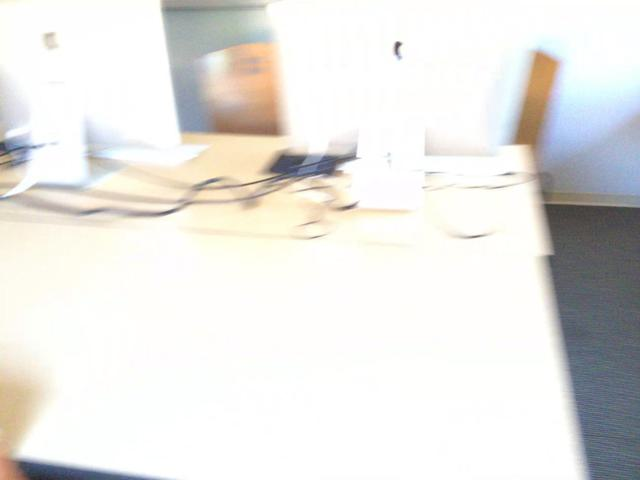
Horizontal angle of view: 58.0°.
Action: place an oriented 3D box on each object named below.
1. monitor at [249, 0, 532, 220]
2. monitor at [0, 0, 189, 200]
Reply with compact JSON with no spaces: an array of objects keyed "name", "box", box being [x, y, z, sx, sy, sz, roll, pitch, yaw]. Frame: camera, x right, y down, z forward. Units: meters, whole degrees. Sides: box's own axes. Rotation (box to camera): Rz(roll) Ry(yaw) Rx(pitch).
[{"name":"monitor","box":[0.140,-0.300,1.260,0.520,0.440,0.190,5,33,9]},{"name":"monitor","box":[-0.640,-0.360,1.390,0.540,0.450,0.200,5,33,9]}]
